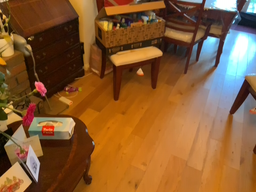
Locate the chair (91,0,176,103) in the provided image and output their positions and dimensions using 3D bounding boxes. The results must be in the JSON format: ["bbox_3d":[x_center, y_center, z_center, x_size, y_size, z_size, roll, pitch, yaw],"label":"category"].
[{"bbox_3d":[0.000,-0.520,2.290,0.600,0.910,0.610,-13,41,-22],"label":"chair"}]

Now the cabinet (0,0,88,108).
[{"bbox_3d":[-0.870,-0.520,2.180,0.490,0.890,0.790,20,39,19],"label":"cabinet"}]

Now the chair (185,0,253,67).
[{"bbox_3d":[1.280,-1.050,3.020,0.610,1.030,0.490,18,39,16],"label":"chair"}]

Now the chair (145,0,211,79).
[{"bbox_3d":[0.640,-0.860,2.710,0.500,1.010,0.610,22,40,22],"label":"chair"}]
